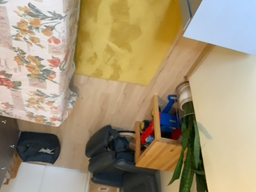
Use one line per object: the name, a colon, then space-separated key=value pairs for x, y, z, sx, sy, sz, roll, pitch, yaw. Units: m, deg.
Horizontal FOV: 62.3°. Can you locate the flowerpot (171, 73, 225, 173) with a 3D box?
flowerpot: x=0.550 y=0.200 z=1.790 sx=0.220 sy=0.790 sz=0.260 roll=12 pitch=141 yaw=-11

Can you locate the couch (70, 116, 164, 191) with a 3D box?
couch: x=-0.150 y=0.950 z=2.600 sx=0.820 sy=0.930 sz=0.820 roll=21 pitch=138 yaw=-22

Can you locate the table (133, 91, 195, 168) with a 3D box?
table: x=0.330 y=0.370 z=2.220 sx=0.400 sy=0.520 sz=0.610 roll=11 pitch=141 yaw=-10
